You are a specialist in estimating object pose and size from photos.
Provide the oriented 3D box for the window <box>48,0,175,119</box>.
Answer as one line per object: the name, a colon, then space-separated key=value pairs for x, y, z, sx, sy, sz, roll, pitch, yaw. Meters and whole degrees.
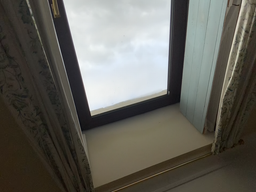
window: x=-0.090 y=-0.640 z=1.320 sx=0.770 sy=1.620 sz=0.210 roll=-18 pitch=-142 yaw=-17
